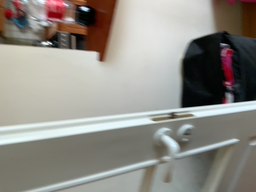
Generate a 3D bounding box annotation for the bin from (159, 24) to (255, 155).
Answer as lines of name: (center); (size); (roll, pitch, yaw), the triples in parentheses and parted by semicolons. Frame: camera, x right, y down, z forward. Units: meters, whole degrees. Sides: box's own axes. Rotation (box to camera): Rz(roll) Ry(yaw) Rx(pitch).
bin: (0.600, -0.040, 1.180); (0.350, 0.790, 0.510); (0, 92, 58)
